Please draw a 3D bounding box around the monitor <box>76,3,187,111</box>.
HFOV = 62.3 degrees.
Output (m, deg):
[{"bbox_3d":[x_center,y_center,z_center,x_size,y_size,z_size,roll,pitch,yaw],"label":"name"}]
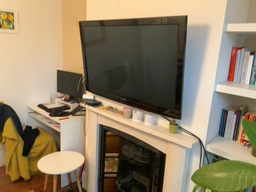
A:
[{"bbox_3d":[-0.050,-0.240,1.640,1.040,0.630,0.080,2,9,44],"label":"monitor"}]
